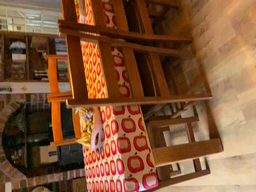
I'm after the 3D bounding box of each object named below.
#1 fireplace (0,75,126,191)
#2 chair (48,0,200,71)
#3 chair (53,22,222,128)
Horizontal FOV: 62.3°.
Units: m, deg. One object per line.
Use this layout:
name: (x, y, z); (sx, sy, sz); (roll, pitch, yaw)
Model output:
fireplace: (-1.140, 0.800, 3.120); (0.720, 1.840, 2.110); (136, 126, -57)
chair: (-0.060, -0.530, 1.680); (0.530, 1.010, 0.470); (139, 124, -58)
chair: (0.040, -0.110, 1.520); (0.530, 1.010, 0.470); (139, 124, -58)
